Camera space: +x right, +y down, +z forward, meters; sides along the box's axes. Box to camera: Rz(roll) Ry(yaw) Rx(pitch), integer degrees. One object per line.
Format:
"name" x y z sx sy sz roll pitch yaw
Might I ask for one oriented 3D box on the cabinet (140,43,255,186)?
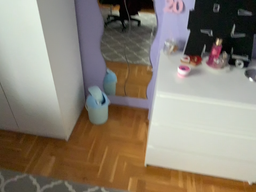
"cabinet" 0.570 0.140 1.530 0.840 0.780 0.520 8 41 4
